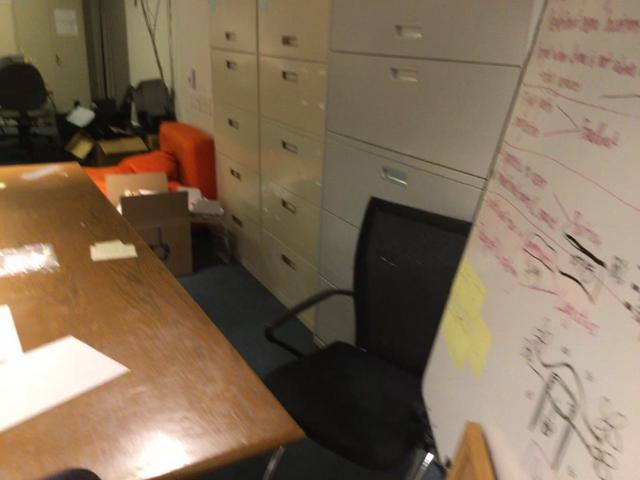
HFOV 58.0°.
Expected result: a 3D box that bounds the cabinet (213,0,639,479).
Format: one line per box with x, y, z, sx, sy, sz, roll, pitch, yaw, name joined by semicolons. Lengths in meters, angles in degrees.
0.110;-0.310;2.630;0.450;1.640;2.310;-5;20;-28;cabinet
